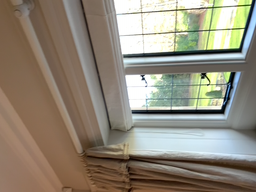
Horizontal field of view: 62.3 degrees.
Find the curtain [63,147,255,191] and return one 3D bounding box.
[{"bbox_3d":[0.650,0.820,1.960,0.370,2.320,0.580,-83,-11,-45],"label":"curtain"}]
